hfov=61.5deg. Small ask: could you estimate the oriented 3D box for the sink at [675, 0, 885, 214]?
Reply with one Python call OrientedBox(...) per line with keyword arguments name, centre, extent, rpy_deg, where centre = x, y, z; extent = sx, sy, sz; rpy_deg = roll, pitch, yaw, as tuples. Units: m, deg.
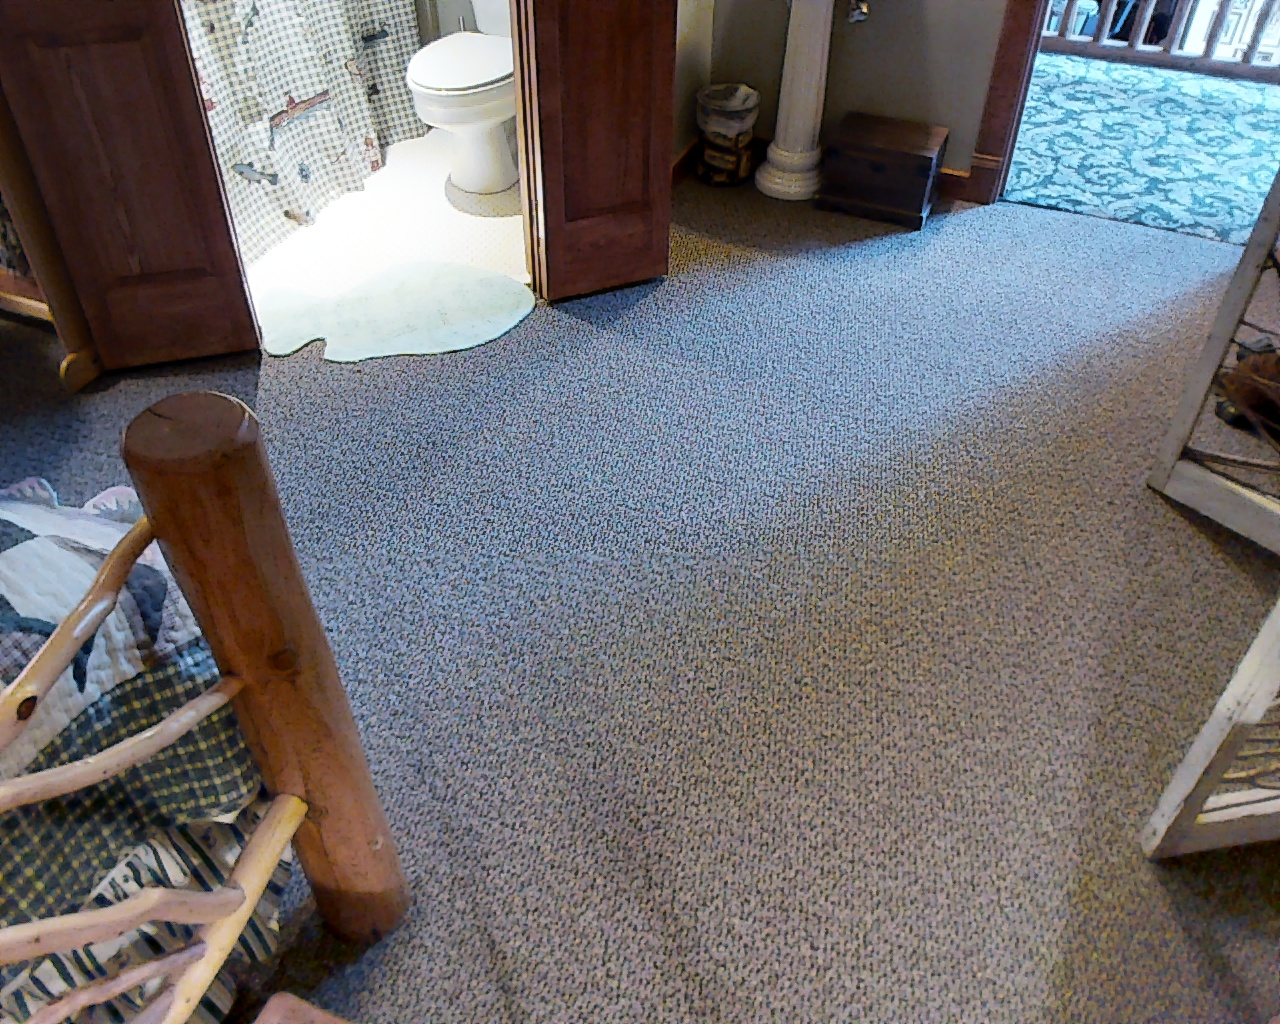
OrientedBox(name="sink", centre=(0.440, -1.460, 3.340), extent=(0.510, 0.850, 0.420), rpy_deg=(18, 45, 17))
